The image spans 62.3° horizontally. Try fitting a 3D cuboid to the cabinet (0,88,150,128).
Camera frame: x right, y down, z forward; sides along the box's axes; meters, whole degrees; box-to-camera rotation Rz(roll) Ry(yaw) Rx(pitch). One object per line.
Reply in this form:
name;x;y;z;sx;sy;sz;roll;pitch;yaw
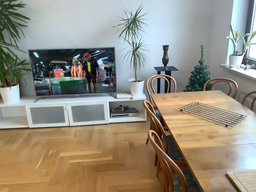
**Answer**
cabinet;-0.920;0.180;3.440;2.500;0.410;0.470;-2;19;-3
